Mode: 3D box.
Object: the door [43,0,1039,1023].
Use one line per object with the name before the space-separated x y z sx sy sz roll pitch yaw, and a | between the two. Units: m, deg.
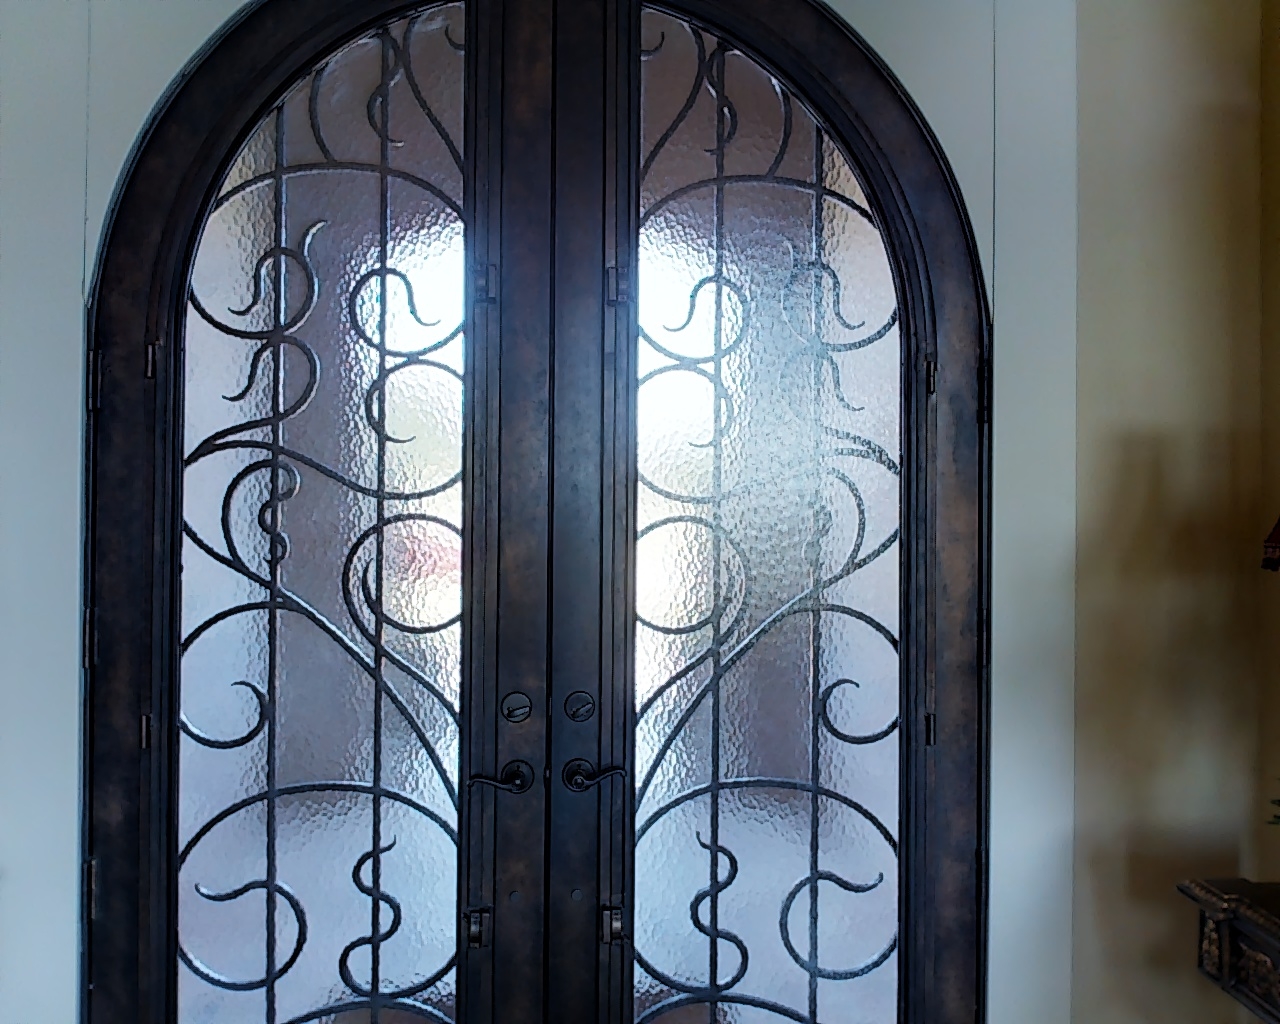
door | -0.170 0.100 2.210 1.969 2.811 0.100 1 0 -4
